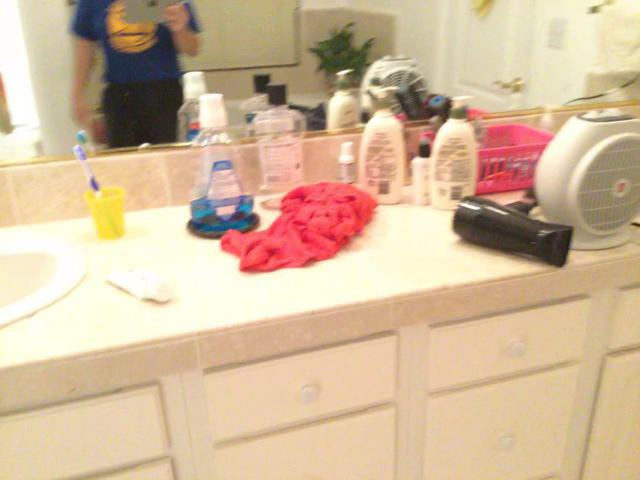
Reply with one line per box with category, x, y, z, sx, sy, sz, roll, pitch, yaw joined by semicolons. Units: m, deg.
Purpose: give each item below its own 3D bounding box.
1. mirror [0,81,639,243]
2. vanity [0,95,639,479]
mirror;-0.020;-0.210;1.390;2.270;0.180;0.230;-8;21;-16
vanity;0.090;0.320;1.260;2.320;1.060;0.560;-8;21;-16
